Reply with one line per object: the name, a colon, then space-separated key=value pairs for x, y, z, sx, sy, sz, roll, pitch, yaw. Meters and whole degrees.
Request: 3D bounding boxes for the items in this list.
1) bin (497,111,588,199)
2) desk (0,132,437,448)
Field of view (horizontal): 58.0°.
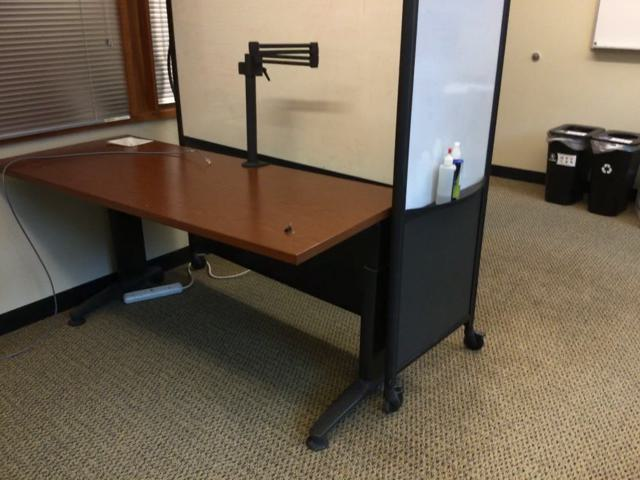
bin: x=1.600 y=-0.630 z=4.160 sx=0.480 sy=0.520 sz=0.450 roll=10 pitch=25 yaw=34
desk: x=-0.390 y=0.030 z=2.150 sx=1.430 sy=0.680 sz=0.750 roll=10 pitch=25 yaw=34
